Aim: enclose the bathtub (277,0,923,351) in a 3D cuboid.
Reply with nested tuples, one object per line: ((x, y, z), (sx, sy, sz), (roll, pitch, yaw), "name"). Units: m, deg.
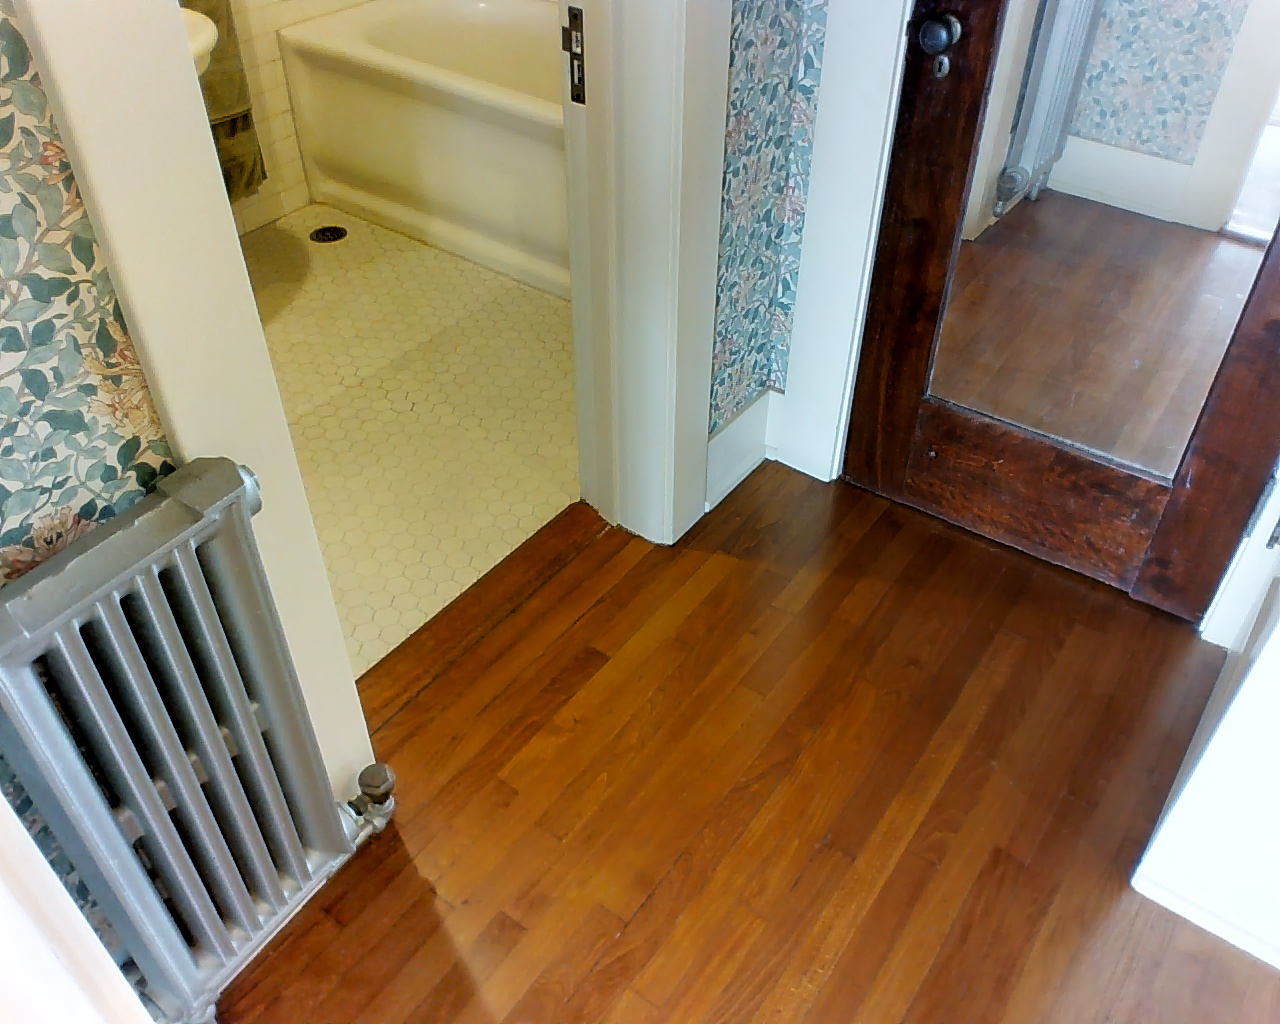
((-0.140, -1.180, 3.260), (1.630, 0.520, 0.930), (26, 48, 27), "bathtub")
